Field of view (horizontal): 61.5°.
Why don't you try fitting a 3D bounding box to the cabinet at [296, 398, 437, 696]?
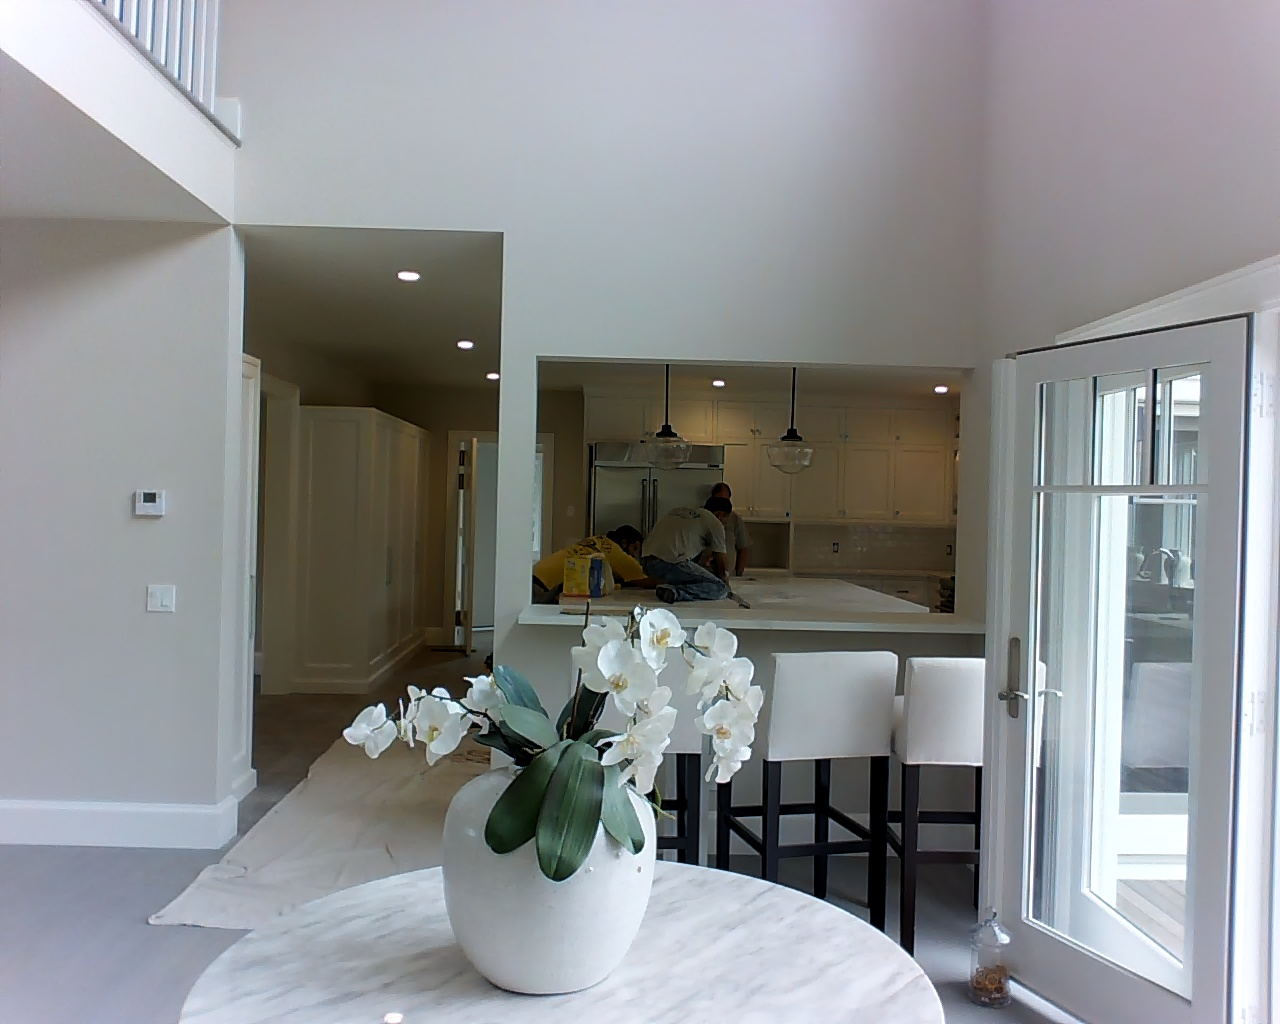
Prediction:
[{"bbox_3d":[-2.430,0.270,9.950,0.620,2.340,2.970,1,0,-2],"label":"cabinet"}]
